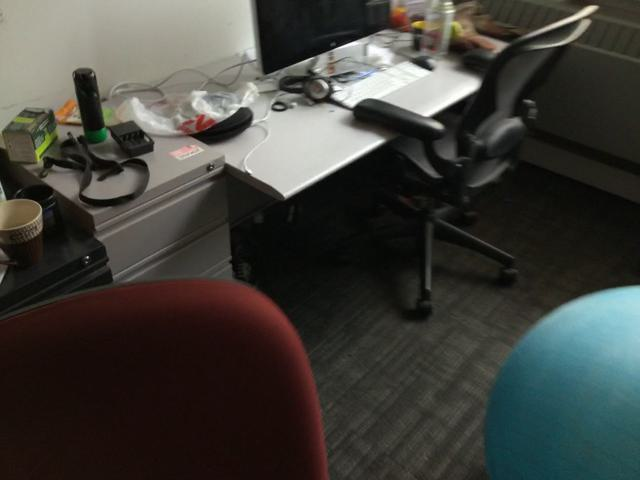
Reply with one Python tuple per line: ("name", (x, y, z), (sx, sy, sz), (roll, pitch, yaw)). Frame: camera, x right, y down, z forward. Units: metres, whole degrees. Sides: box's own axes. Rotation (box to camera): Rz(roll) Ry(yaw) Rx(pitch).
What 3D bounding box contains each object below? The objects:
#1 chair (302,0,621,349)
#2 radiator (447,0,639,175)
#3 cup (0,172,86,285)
("chair", (0.410, -0.320, 1.920), (0.620, 0.970, 0.690), (29, 43, 31))
("radiator", (1.220, -0.600, 2.260), (1.420, 0.560, 0.250), (29, 43, 31))
("cup", (-0.610, -0.030, 1.170), (0.160, 0.110, 0.180), (29, 43, 31))
